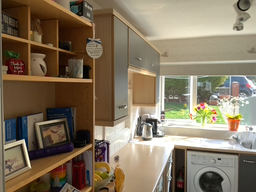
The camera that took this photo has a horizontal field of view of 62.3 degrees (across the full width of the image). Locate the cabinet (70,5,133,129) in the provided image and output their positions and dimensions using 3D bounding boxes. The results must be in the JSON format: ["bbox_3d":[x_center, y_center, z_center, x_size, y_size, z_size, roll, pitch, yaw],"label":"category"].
[{"bbox_3d":[-0.190,-0.200,1.640,0.380,0.830,0.320,1,3,18],"label":"cabinet"}]
